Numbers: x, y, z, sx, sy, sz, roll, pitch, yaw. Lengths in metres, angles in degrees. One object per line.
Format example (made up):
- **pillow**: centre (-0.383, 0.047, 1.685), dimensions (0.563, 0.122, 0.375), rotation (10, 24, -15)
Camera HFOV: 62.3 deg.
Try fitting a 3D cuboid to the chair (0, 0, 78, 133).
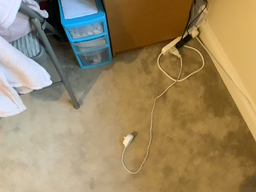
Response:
- **chair**: centre (-0.580, -0.250, 0.840), dimensions (0.490, 0.750, 0.550), rotation (-15, 66, -5)
